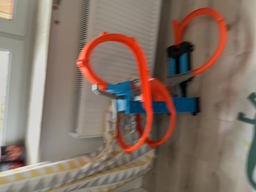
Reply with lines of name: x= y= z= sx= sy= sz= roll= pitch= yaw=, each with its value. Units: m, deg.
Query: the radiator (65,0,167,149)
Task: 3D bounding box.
radiator: x=-0.040 y=-0.340 z=1.520 sx=0.150 sy=0.670 sz=1.340 roll=9 pitch=94 yaw=48
